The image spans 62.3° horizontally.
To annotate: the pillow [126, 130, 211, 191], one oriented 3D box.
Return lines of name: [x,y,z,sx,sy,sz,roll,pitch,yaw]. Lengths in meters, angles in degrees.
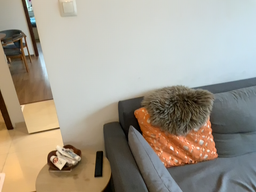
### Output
pillow: [0.190,0.480,1.030,0.230,0.300,0.610,-9,27,-13]

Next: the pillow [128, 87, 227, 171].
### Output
pillow: [0.290,0.200,1.390,0.520,0.380,0.300,-7,27,-8]
